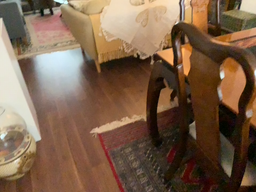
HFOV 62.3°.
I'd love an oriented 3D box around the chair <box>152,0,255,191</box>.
[{"bbox_3d":[0.520,0.160,1.030,0.610,1.040,0.460,-17,39,-19],"label":"chair"}]
